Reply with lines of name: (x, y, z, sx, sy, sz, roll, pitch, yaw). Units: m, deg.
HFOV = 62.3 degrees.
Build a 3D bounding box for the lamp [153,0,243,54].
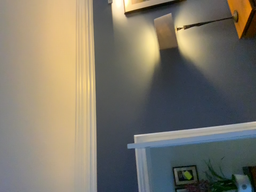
lamp: (0.750, -0.770, 2.400, 0.230, 0.880, 0.350, 51, -148, -67)
